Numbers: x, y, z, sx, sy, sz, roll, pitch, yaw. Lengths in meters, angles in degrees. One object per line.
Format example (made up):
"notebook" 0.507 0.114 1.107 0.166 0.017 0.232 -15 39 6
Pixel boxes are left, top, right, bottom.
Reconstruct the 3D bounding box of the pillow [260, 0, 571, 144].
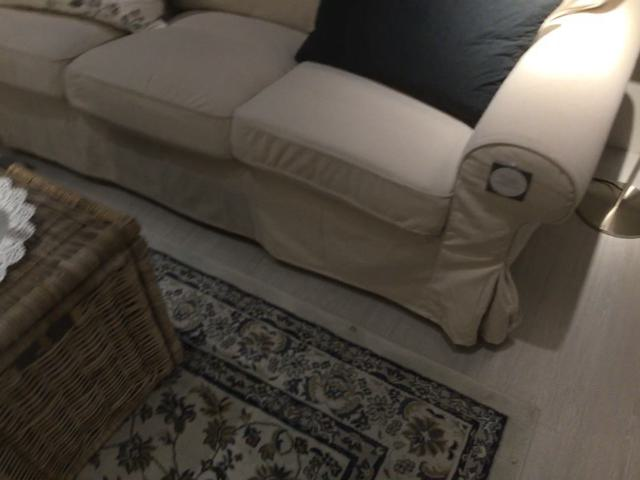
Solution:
"pillow" 0.230 -0.560 1.490 0.690 0.280 0.340 24 51 21

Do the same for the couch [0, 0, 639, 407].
"couch" -0.220 -0.690 1.730 2.140 1.000 1.100 24 51 21
